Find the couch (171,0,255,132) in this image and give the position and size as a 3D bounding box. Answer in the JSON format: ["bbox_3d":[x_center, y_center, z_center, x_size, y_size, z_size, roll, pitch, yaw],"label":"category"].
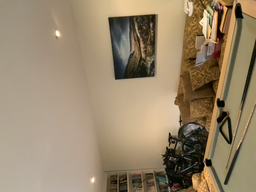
[{"bbox_3d":[1.280,-0.610,3.370,1.160,0.800,2.080,-93,0,-53],"label":"couch"}]

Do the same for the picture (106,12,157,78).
[{"bbox_3d":[0.090,-0.860,3.770,0.050,0.830,1.140,-93,0,-56],"label":"picture"}]
